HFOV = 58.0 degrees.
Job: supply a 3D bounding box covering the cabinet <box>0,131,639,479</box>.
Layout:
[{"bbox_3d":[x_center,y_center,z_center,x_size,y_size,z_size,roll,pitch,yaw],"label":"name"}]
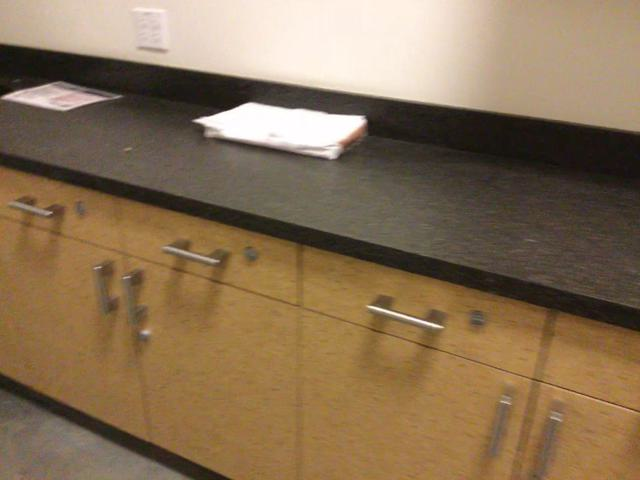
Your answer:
[{"bbox_3d":[-0.450,0.240,1.450,2.850,0.860,0.190,13,28,22],"label":"cabinet"}]
